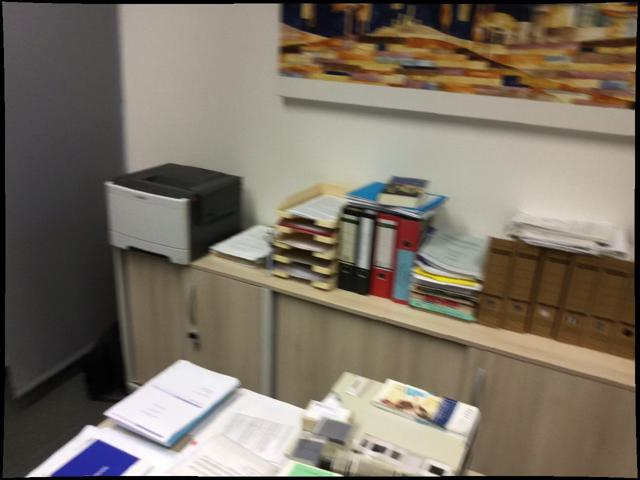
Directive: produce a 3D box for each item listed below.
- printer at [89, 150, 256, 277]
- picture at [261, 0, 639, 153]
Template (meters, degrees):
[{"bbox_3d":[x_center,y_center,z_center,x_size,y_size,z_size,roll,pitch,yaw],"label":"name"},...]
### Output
[{"bbox_3d":[-0.619,-0.140,2.510,0.500,0.340,0.470,14,25,24],"label":"printer"},{"bbox_3d":[0.719,-0.741,1.870,2.078,0.791,0.110,14,25,24],"label":"picture"}]
